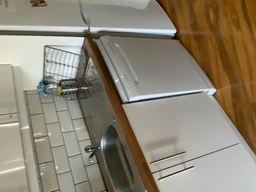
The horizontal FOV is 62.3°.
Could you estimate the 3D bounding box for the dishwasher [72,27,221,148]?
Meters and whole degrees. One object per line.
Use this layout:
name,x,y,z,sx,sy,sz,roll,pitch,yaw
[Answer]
dishwasher,0.100,-0.090,1.800,0.650,0.910,0.620,65,146,29

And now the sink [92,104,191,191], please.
sink,0.040,0.410,1.400,0.470,0.320,0.510,65,146,29

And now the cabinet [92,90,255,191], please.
cabinet,0.370,0.510,1.440,0.840,0.910,0.600,65,146,29
